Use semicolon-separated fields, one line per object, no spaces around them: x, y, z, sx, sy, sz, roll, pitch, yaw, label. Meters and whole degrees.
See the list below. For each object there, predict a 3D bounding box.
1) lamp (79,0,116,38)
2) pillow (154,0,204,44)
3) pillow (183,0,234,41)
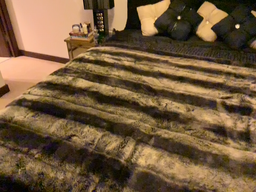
-0.310;-0.870;2.250;0.280;0.400;0.260;13;35;19;lamp
0.420;-0.640;1.770;0.130;0.300;0.250;-53;7;-28;pillow
0.650;-0.620;1.740;0.070;0.310;0.280;-51;19;-16;pillow
